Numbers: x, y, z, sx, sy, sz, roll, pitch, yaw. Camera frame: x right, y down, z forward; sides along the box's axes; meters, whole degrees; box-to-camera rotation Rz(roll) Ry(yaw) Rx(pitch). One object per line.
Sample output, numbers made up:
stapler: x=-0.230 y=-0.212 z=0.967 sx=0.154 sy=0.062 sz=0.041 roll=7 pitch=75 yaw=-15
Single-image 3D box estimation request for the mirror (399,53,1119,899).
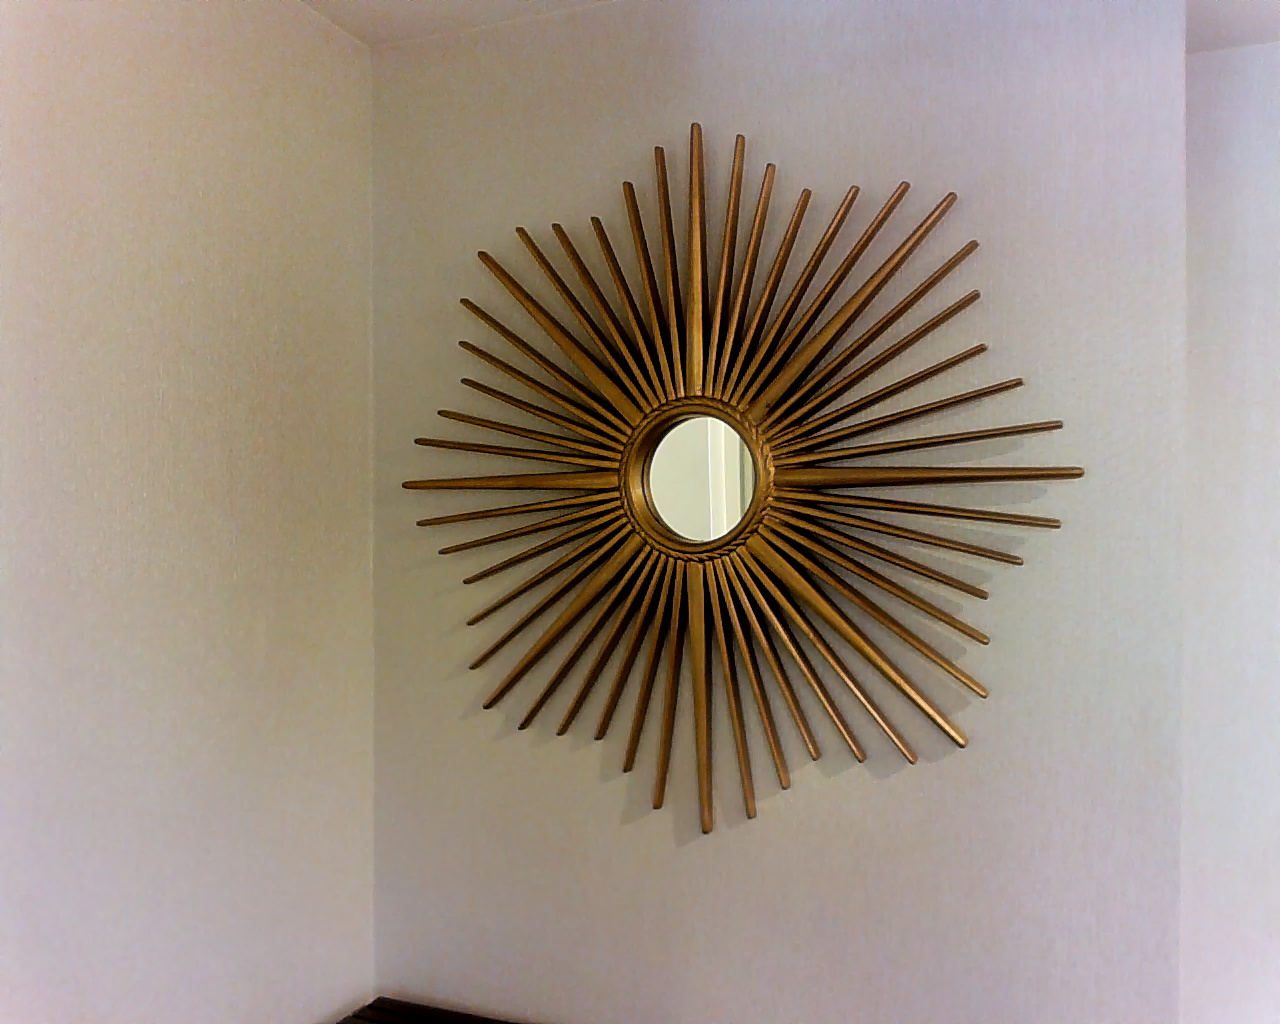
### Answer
mirror: x=0.100 y=-0.040 z=1.330 sx=0.890 sy=0.890 sz=0.070 roll=0 pitch=1 yaw=22
